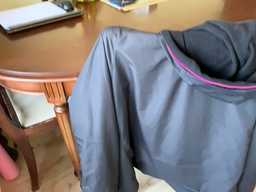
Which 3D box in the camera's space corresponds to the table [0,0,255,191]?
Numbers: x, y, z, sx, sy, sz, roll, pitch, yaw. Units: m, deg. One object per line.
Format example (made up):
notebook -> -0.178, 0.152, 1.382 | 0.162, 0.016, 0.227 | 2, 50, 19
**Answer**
table -> 0.090, -0.180, 1.390 | 1.610, 0.780, 1.040 | -19, 42, -21
